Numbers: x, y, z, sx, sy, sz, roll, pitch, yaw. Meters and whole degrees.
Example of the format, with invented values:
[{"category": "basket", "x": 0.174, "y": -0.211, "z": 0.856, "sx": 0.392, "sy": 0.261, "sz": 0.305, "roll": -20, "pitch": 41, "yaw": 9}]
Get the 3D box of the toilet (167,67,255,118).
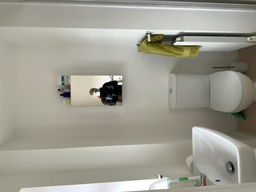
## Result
[{"category": "toilet", "x": 0.850, "y": -0.040, "z": 1.970, "sx": 0.680, "sy": 0.780, "sz": 0.380, "roll": -166, "pitch": 76, "yaw": -82}]
